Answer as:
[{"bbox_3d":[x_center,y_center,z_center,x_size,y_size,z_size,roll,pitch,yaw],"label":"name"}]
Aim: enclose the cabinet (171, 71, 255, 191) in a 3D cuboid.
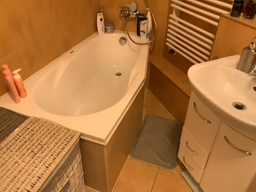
[{"bbox_3d":[0.560,0.310,1.280,0.300,0.750,0.460,-15,39,-20],"label":"cabinet"}]
